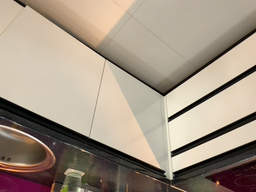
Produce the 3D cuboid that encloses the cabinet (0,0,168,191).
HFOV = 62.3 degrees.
[{"bbox_3d":[-0.610,-0.060,1.350,1.760,0.870,0.610,31,131,-26],"label":"cabinet"}]

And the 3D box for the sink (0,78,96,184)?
[{"bbox_3d":[-0.600,0.230,1.150,0.600,0.180,0.590,31,131,-26],"label":"sink"}]
